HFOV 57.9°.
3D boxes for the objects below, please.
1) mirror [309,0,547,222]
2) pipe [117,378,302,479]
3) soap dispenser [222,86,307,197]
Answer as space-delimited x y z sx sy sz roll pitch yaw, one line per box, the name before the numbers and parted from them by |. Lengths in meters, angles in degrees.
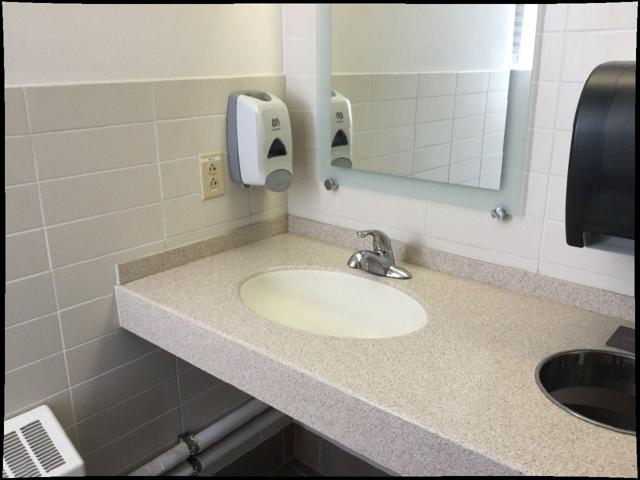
mirror | 0.230 -0.390 1.450 0.620 0.591 0.070 15 25 40
pipe | -0.340 0.631 1.720 0.070 0.110 0.750 15 25 40
soap dispenser | -0.150 -0.280 1.610 0.130 0.270 0.180 15 25 40
